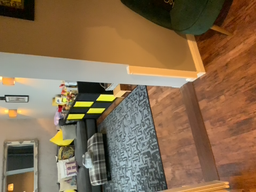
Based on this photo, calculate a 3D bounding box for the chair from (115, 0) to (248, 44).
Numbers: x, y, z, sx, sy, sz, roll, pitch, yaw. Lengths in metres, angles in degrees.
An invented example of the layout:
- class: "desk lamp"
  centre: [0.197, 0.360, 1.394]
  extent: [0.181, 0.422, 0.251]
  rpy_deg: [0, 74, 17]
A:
- class: "chair"
  centre: [0.440, -0.910, 1.790]
  extent: [0.760, 0.770, 0.650]
  rpy_deg: [50, 132, 53]

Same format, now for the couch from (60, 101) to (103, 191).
- class: "couch"
  centre: [-1.170, 1.630, 5.090]
  extent: [1.200, 0.630, 2.780]
  rpy_deg: [-42, 52, 56]
